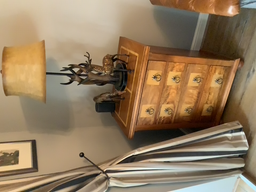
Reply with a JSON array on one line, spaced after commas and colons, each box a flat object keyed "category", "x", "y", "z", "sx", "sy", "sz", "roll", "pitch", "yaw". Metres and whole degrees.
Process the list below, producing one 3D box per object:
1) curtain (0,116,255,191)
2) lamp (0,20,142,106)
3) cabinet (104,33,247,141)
[{"category": "curtain", "x": -0.070, "y": 0.410, "z": 1.160, "sx": 0.510, "sy": 2.250, "sz": 0.310, "roll": -133, "pitch": 48, "yaw": -57}, {"category": "lamp", "x": -0.410, "y": -0.220, "z": 1.420, "sx": 0.420, "sy": 0.860, "sz": 0.430, "roll": -140, "pitch": 54, "yaw": -60}, {"category": "cabinet", "x": 0.350, "y": -0.090, "z": 1.770, "sx": 0.500, "sy": 0.910, "sz": 0.680, "roll": -135, "pitch": 49, "yaw": -58}]
